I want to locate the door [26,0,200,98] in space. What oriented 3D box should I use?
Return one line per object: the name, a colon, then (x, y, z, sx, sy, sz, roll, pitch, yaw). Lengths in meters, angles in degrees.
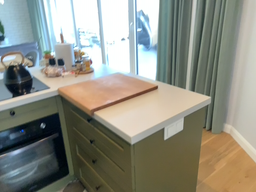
door: (-0.970, -1.730, 4.630, 0.430, 2.140, 5.260, -22, 30, -38)
